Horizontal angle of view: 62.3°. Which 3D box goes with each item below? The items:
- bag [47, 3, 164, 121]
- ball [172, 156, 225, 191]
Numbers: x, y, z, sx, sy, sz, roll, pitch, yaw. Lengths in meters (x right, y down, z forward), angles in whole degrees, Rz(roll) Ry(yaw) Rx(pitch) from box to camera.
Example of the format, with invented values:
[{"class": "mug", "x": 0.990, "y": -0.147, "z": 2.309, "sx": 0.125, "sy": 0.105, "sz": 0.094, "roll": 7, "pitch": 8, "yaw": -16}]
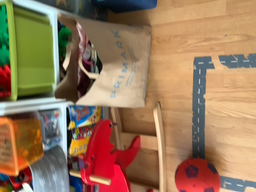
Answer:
[{"class": "bag", "x": -0.070, "y": -0.140, "z": 1.050, "sx": 0.310, "sy": 0.530, "sz": 0.410, "roll": 3, "pitch": 96, "yaw": 31}, {"class": "ball", "x": 0.320, "y": 0.390, "z": 0.950, "sx": 0.180, "sy": 0.190, "sz": 0.160, "roll": -1, "pitch": 93, "yaw": 32}]
